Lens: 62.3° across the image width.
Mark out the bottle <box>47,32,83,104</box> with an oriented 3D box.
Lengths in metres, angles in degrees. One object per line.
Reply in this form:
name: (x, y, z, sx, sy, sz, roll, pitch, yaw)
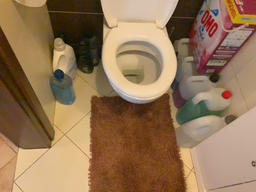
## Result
bottle: (-0.350, -0.150, 1.230, 0.150, 0.290, 0.300, 0, 62, -9)
